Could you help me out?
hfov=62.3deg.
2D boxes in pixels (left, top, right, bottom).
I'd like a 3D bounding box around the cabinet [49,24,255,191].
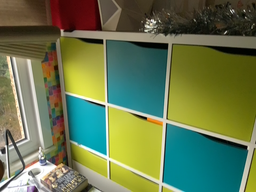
[{"bbox_3d":[0.300,0.370,1.180,1.480,1.440,0.410,13,24,32],"label":"cabinet"}]
